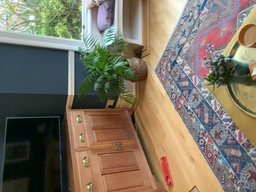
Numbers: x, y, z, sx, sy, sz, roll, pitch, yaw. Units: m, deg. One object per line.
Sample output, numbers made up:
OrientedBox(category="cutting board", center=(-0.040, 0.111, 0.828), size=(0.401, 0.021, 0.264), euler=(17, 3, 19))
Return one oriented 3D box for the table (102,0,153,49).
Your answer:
OrientedBox(category="table", center=(-0.020, -1.070, 2.680), size=(0.460, 0.480, 0.810), euler=(-178, 90, -65))
